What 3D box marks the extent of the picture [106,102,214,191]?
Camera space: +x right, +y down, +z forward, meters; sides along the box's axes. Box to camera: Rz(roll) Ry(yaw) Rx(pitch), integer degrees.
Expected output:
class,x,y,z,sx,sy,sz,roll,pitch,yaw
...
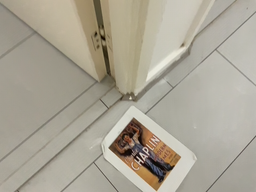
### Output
class,x,y,z,sx,sy,sz,roll,pitch,yaw
picture,0.110,0.200,0.730,0.280,0.020,0.240,42,78,9
